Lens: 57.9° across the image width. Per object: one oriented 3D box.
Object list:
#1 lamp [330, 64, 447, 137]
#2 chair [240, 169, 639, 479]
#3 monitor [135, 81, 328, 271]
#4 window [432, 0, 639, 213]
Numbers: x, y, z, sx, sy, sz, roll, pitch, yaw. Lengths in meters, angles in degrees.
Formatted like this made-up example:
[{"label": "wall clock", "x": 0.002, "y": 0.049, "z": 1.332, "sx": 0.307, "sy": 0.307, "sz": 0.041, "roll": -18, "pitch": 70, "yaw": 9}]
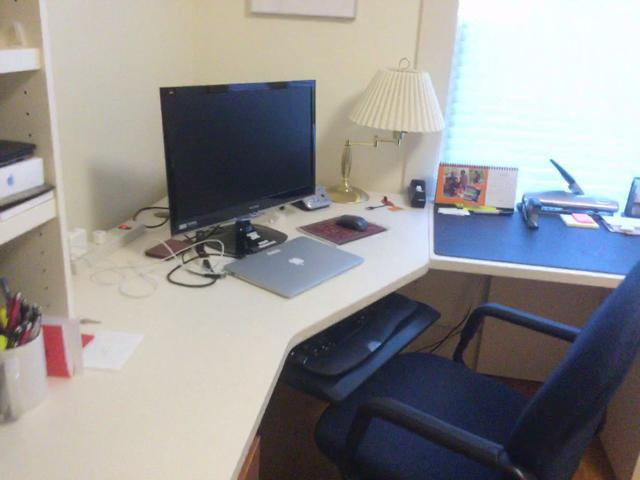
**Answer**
[{"label": "lamp", "x": 0.230, "y": -0.470, "z": 1.910, "sx": 0.340, "sy": 0.190, "sz": 0.300, "roll": 6, "pitch": 19, "yaw": 8}, {"label": "chair", "x": 0.310, "y": 0.430, "z": 1.290, "sx": 0.680, "sy": 0.990, "sz": 0.690, "roll": 18, "pitch": 24, "yaw": 37}, {"label": "monitor", "x": -0.220, "y": -0.200, "z": 1.570, "sx": 0.170, "sy": 0.430, "sz": 0.500, "roll": 19, "pitch": 24, "yaw": 39}, {"label": "window", "x": 0.960, "y": -0.880, "z": 1.780, "sx": 1.040, "sy": 1.600, "sz": 0.090, "roll": 6, "pitch": 19, "yaw": 8}]
